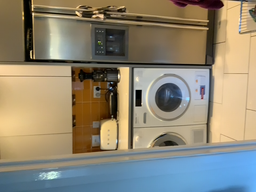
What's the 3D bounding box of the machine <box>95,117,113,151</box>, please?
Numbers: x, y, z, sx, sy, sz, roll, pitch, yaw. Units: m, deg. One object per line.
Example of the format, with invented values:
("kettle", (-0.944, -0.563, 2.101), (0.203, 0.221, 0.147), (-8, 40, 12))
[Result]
("machine", (-0.290, 0.450, 2.560), (0.210, 0.180, 0.360), (-155, 66, -73))
